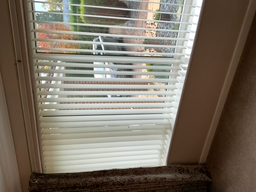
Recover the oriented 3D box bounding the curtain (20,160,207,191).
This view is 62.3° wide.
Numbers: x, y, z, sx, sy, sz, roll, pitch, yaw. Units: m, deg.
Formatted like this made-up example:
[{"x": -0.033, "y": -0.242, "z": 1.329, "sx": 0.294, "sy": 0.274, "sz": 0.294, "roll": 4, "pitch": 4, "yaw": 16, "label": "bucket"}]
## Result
[{"x": -0.100, "y": 1.060, "z": 2.560, "sx": 0.200, "sy": 2.130, "sz": 0.350, "roll": -112, "pitch": 25, "yaw": -57, "label": "curtain"}]
